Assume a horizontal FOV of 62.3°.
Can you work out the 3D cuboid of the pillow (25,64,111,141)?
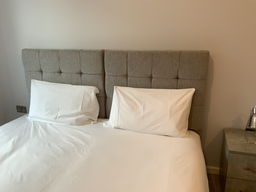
[{"bbox_3d":[-0.640,0.060,2.220,0.790,0.470,0.180,27,21,6],"label":"pillow"}]

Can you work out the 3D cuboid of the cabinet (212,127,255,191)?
[{"bbox_3d":[0.990,0.630,1.850,0.400,0.530,0.440,4,17,16],"label":"cabinet"}]

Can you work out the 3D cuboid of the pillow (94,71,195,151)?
[{"bbox_3d":[0.140,0.120,1.950,0.790,0.450,0.220,19,20,8],"label":"pillow"}]
